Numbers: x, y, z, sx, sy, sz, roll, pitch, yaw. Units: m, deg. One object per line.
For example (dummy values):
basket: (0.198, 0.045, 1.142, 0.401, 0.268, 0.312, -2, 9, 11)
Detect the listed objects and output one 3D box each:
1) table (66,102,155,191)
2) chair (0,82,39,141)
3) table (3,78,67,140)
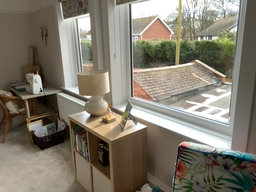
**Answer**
table: (-0.190, 0.560, 2.150, 0.490, 0.750, 0.800, -13, 20, -38)
chair: (-1.940, 0.220, 3.500, 0.590, 0.750, 0.560, 11, 20, 38)
table: (-1.710, 0.150, 3.830, 0.640, 0.710, 1.300, -13, 20, -37)
